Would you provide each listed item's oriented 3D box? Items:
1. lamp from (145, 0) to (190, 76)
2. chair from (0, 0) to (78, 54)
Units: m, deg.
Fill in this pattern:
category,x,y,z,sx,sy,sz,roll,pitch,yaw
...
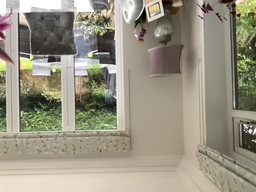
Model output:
category,x,y,z,sx,sy,sz,roll,pitch,yaw
lamp,0.400,-0.600,2.240,0.400,0.740,0.330,-1,180,-1
chair,-0.820,-0.980,1.980,0.560,1.040,0.670,-1,180,-3
